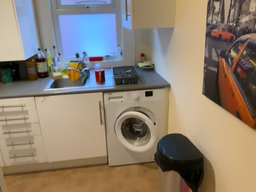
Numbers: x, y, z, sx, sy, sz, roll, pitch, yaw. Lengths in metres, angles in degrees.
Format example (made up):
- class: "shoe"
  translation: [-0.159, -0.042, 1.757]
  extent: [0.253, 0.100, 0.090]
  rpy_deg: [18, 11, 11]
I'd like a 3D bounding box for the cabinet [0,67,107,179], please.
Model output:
- class: "cabinet"
  translation: [-0.910, 0.230, 2.390]
  extent: [1.270, 0.880, 0.870]
  rpy_deg: [-4, 21, -7]
